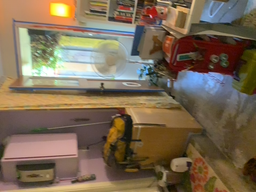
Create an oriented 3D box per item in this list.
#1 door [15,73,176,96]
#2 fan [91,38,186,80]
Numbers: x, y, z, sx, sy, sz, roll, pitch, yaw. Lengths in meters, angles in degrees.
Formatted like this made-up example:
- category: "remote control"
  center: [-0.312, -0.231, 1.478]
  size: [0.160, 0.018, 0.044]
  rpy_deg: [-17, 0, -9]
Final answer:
- category: "door"
  center: [-0.420, -0.170, 3.160]
  size: [0.740, 2.130, 0.060]
  rpy_deg: [-125, 39, -63]
- category: "fan"
  center: [0.130, -0.530, 3.070]
  size: [0.410, 1.270, 0.490]
  rpy_deg: [-137, 49, -68]
